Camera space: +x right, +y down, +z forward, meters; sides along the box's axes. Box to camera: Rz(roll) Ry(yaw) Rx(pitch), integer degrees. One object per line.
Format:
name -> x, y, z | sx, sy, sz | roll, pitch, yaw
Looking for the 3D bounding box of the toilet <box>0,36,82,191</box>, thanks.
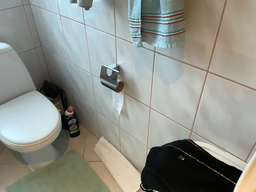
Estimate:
toilet -> -0.680, 0.100, 1.350 | 0.630, 0.720, 0.360 | 30, 47, 32
